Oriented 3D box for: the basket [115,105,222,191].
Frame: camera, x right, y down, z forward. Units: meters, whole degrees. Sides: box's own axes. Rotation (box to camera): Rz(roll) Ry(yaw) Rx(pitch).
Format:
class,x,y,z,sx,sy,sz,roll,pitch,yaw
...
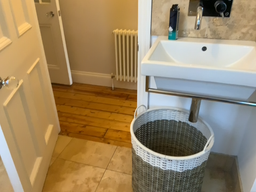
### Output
class,x,y,z,sx,sy,sz,roll,pitch,yaw
basket,0.240,0.390,1.300,0.510,0.450,0.430,8,31,15
